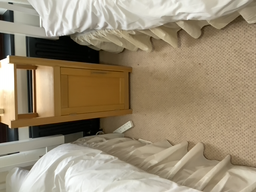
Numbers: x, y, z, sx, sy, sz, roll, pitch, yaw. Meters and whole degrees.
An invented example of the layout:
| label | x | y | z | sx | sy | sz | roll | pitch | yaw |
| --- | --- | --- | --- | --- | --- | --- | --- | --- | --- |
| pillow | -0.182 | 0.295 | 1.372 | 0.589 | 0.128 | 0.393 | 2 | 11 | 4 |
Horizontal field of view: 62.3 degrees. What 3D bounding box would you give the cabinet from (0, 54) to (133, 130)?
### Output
| label | x | y | z | sx | sy | sz | roll | pitch | yaw |
| --- | --- | --- | --- | --- | --- | --- | --- | --- | --- |
| cabinet | -0.390 | -0.040 | 1.450 | 0.390 | 0.820 | 0.370 | 3 | 94 | 46 |
